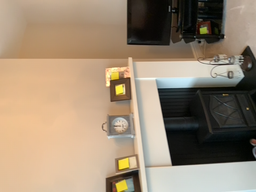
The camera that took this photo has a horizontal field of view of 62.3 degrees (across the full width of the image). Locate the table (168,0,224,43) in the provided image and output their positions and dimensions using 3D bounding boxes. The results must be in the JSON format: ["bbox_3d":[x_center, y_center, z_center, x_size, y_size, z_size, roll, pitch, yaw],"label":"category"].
[{"bbox_3d":[0.780,-1.050,2.510,0.450,0.490,0.760,-138,46,-81],"label":"table"}]
